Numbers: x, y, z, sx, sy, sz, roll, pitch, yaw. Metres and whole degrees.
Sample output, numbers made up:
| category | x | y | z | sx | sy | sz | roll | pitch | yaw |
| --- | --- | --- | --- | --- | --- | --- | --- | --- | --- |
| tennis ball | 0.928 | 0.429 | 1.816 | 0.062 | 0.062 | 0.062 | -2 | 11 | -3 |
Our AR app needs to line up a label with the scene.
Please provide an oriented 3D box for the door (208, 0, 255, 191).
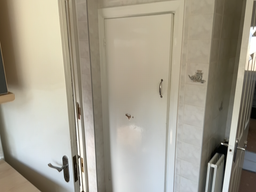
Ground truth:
| category | x | y | z | sx | sy | sz | roll | pitch | yaw |
| --- | --- | --- | --- | --- | --- | --- | --- | --- | --- |
| door | 0.850 | 0.250 | 1.670 | 0.120 | 2.070 | 0.820 | 11 | 20 | 35 |

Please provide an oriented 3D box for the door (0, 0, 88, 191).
| category | x | y | z | sx | sy | sz | roll | pitch | yaw |
| --- | --- | --- | --- | --- | --- | --- | --- | --- | --- |
| door | -0.580 | 0.300 | 1.350 | 0.710 | 2.060 | 0.100 | 8 | 18 | 28 |
